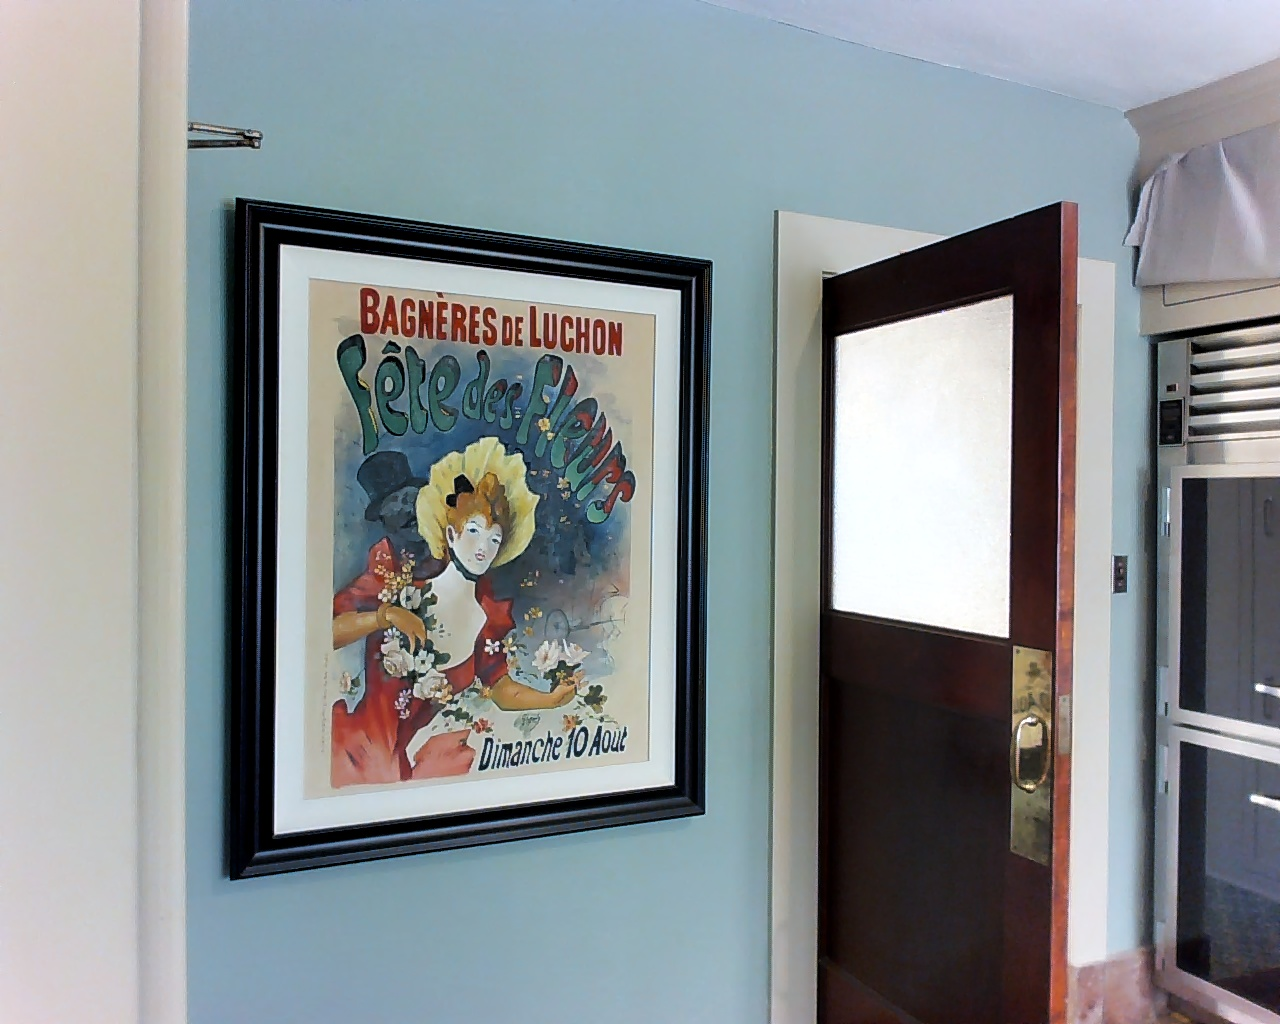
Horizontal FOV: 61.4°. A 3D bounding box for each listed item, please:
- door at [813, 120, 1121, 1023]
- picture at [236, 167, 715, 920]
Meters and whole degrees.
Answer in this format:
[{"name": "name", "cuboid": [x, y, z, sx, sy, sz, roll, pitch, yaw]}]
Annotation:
[{"name": "door", "cuboid": [0.680, 0.410, 2.410, 0.150, 2.280, 0.820, 0, 1, -24]}, {"name": "picture", "cuboid": [-0.310, 0.060, 2.290, 1.020, 1.410, 0.100, 0, 1, -26]}]
